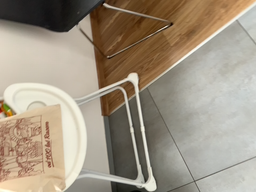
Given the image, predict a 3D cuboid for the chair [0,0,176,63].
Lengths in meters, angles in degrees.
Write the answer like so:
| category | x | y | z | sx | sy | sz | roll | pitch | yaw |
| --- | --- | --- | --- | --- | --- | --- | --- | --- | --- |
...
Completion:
| category | x | y | z | sx | sy | sz | roll | pitch | yaw |
| --- | --- | --- | --- | --- | --- | --- | --- | --- | --- |
| chair | -0.250 | -0.580 | 1.120 | 0.610 | 0.840 | 0.510 | -14 | 79 | 37 |
